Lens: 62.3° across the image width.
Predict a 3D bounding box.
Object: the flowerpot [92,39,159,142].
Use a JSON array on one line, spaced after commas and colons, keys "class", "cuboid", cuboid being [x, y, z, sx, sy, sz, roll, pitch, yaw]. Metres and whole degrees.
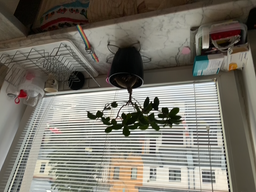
[{"class": "flowerpot", "cuboid": [0.010, -0.020, 0.910, 0.230, 0.400, 0.160, -2, 154, 14]}]
